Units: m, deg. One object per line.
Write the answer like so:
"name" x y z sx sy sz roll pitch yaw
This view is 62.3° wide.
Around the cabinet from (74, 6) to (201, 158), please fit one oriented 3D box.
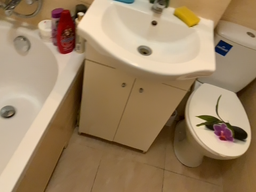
"cabinet" -0.010 0.000 1.160 0.470 0.770 0.260 18 49 -2
